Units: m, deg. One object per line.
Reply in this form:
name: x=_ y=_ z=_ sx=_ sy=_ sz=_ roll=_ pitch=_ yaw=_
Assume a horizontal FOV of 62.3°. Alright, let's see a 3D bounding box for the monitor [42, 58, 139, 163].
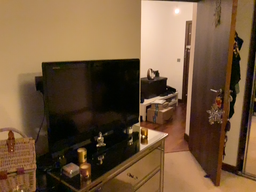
monitor: x=-0.180 y=0.040 z=1.430 sx=0.060 sy=0.550 sz=0.760 roll=10 pitch=16 yaw=39
